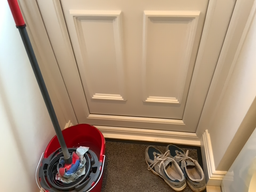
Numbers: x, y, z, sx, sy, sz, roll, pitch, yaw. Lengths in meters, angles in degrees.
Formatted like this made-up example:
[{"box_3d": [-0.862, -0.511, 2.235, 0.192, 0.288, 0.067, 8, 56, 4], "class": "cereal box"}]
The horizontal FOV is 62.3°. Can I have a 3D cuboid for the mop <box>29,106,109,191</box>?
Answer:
[{"box_3d": [-0.250, 0.300, 1.060, 0.240, 0.270, 0.420, 2, 45, 3], "class": "mop"}]
